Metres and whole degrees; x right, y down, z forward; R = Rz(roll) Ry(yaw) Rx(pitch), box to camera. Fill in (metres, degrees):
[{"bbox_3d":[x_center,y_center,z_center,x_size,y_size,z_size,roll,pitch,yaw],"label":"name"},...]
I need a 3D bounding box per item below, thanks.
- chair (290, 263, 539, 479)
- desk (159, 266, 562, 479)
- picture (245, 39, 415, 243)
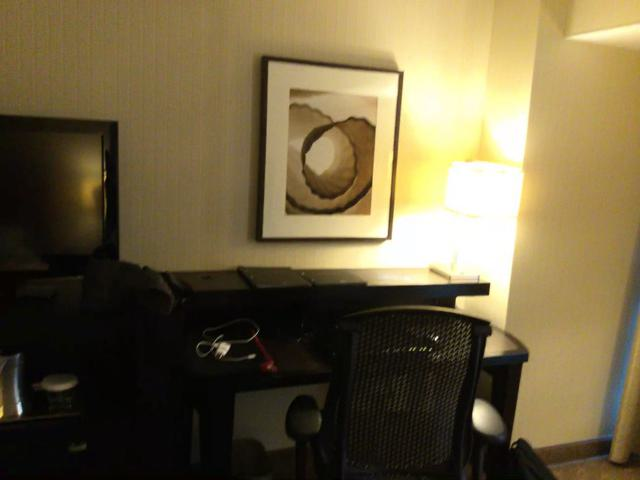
[{"bbox_3d":[0.230,0.660,1.880,0.600,1.060,0.630,2,6,-5],"label":"chair"},{"bbox_3d":[0.120,0.640,2.320,1.390,0.960,0.710,1,7,-22],"label":"desk"},{"bbox_3d":[0.050,-0.390,2.470,0.710,0.800,0.070,1,7,-22],"label":"picture"}]
